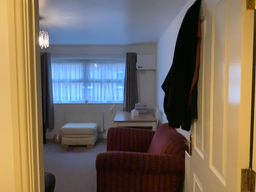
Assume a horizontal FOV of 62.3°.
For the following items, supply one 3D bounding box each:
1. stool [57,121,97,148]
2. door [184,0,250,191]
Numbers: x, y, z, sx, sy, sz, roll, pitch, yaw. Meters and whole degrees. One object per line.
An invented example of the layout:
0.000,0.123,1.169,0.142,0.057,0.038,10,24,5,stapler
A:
-1.140,0.860,4.890,0.760,0.460,0.640,0,5,0,stool
0.470,0.420,1.300,0.070,1.920,0.810,0,5,4,door
